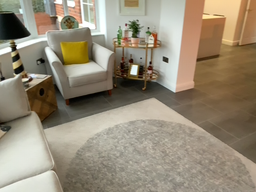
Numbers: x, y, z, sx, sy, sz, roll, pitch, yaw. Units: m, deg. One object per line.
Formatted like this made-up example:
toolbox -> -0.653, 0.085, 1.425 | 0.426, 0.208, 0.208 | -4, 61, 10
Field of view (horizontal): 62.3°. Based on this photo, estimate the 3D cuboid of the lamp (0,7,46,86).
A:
lamp -> -1.360, -0.590, 2.480 | 0.450, 0.790, 0.440 | 8, 27, 14

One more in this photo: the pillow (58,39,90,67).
pillow -> -0.860, -0.690, 3.370 | 0.410, 0.360, 0.240 | -12, 29, -24
